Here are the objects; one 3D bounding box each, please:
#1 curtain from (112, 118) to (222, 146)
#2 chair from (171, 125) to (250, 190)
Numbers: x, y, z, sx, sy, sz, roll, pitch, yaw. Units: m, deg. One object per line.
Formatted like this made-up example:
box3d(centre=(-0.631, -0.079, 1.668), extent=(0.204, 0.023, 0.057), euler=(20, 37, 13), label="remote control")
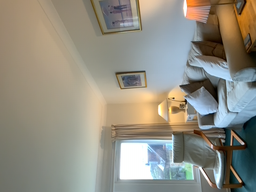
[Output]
box3d(centre=(0.720, 0.720, 4.210), extent=(0.200, 2.060, 0.450), euler=(75, -166, -65), label="curtain")
box3d(centre=(1.220, 0.940, 3.370), extent=(0.790, 0.960, 0.680), euler=(-70, -23, -75), label="chair")
